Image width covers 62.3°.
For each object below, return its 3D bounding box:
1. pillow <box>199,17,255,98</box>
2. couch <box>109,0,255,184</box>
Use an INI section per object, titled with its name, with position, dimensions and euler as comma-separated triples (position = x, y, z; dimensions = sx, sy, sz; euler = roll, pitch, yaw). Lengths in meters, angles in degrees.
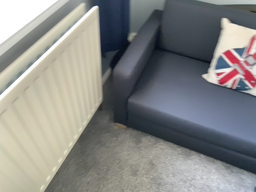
[pillow]
position = 0.680, -0.200, 1.220
dimensions = 0.380, 0.330, 0.090
euler = 34, 53, -7
[couch]
position = 0.660, -0.020, 1.320
dimensions = 1.350, 0.670, 0.740
euler = 17, 52, 11
